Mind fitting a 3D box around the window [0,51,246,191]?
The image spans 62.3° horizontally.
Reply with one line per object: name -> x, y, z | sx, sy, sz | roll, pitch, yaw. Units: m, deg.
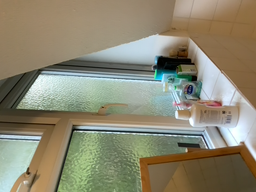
window -> -0.140, 0.090, 0.900 | 1.150, 0.950, 0.070 | -94, 8, -57
